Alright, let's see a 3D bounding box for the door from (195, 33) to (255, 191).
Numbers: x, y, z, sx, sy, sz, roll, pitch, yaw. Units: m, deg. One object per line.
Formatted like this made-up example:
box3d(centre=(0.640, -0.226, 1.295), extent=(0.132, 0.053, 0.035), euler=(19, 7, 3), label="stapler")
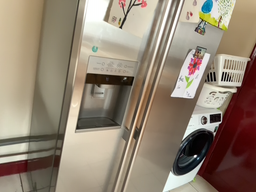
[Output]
box3d(centre=(1.210, 0.090, 1.790), extent=(0.040, 1.940, 0.750), euler=(0, 25, -36), label="door")
